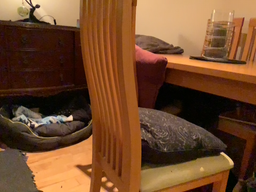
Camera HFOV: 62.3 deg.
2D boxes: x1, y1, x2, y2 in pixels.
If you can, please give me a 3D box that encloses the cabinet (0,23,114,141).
[{"bbox_3d":[-0.890,-0.190,2.050,1.380,0.920,0.580,-8,19,-38],"label":"cabinet"}]
